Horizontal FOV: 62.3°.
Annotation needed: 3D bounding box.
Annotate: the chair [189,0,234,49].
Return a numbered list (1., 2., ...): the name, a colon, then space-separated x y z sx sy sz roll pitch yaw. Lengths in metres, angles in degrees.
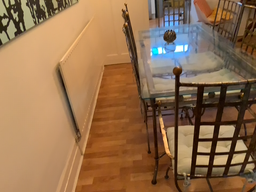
1. chair: 1.530 -1.380 3.920 0.580 0.820 0.520 17 38 35

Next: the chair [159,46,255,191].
1. chair: 0.450 0.270 1.230 0.430 0.920 0.600 -5 30 4
